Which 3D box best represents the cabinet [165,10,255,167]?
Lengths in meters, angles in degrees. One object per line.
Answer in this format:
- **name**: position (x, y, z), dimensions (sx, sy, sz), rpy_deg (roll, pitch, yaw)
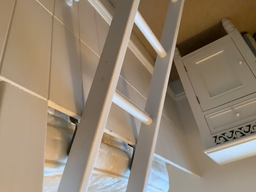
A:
- **cabinet**: position (0.550, -0.030, 1.210), dimensions (0.390, 0.700, 0.400), rpy_deg (-25, 145, 21)
